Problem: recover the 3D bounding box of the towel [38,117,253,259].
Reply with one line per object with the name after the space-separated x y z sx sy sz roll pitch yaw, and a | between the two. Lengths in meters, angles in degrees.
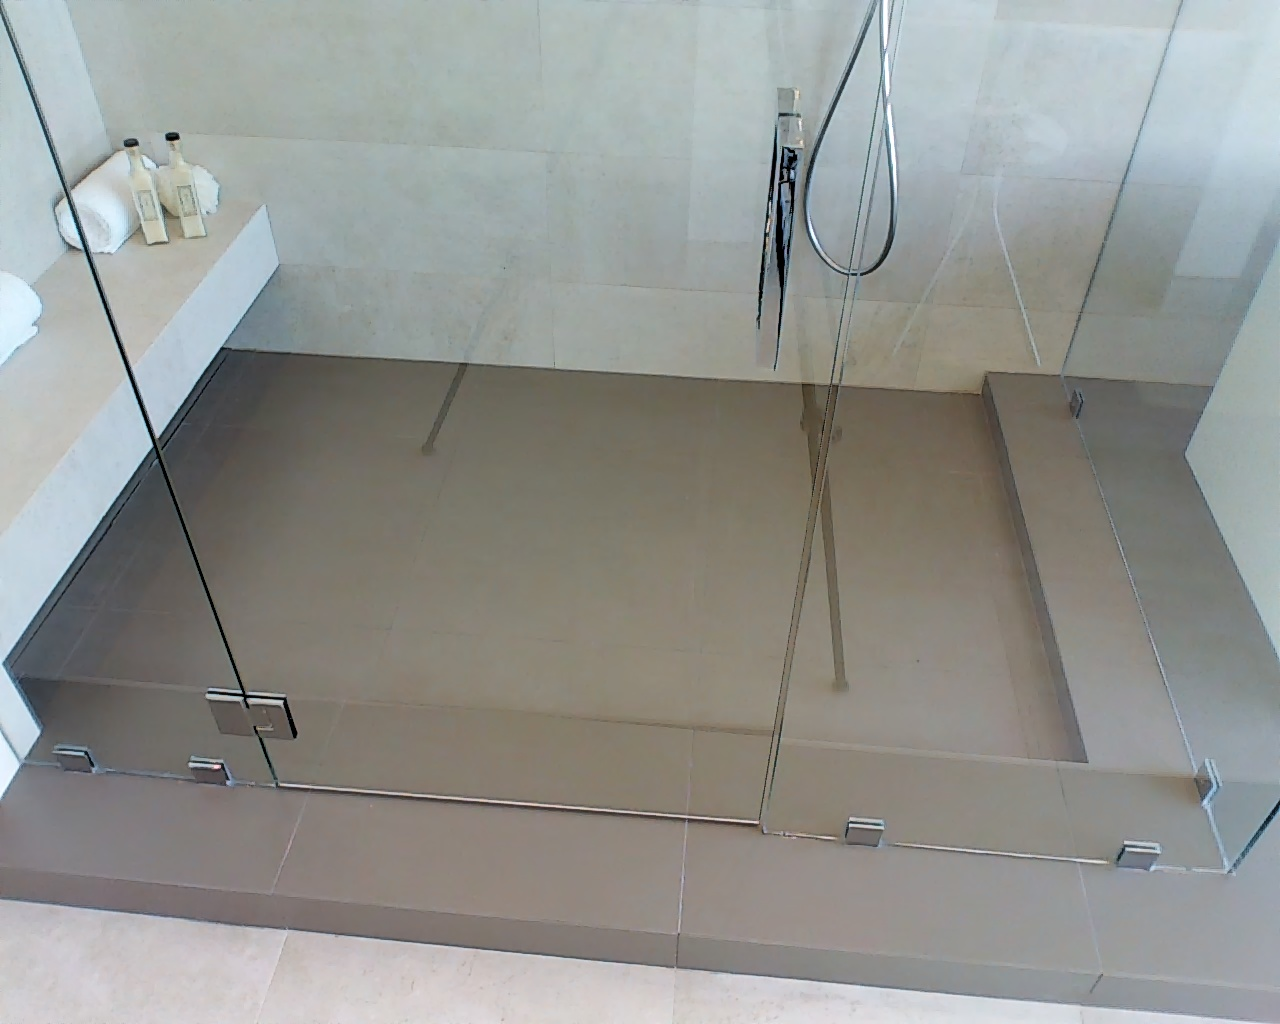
-1.060 -0.710 2.340 0.290 0.160 0.320 4 42 4 | towel
